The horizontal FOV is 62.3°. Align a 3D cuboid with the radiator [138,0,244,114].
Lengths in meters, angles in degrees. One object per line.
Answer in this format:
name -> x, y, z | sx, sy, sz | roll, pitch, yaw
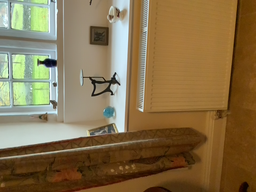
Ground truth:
radiator -> 0.390, -0.360, 1.230 | 0.060, 0.650, 0.910 | -158, 70, -64
